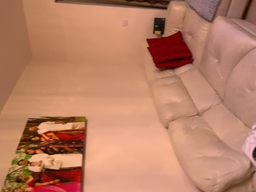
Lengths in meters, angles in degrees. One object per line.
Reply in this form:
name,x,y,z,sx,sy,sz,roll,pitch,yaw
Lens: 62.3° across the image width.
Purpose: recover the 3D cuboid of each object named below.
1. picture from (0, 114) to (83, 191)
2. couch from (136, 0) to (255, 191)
picture,-0.620,0.480,1.620,0.950,0.500,0.080,-103,15,-54
couch,0.760,-0.260,2.080,2.450,0.910,1.010,-101,15,-54
